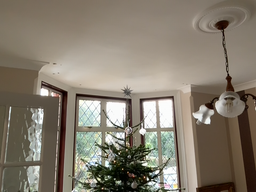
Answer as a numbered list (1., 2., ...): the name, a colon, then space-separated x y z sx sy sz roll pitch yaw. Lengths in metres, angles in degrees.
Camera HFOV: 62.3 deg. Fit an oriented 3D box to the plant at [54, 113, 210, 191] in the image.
1. plant: -0.020 1.290 2.630 1.510 1.930 1.300 6 -14 -27
